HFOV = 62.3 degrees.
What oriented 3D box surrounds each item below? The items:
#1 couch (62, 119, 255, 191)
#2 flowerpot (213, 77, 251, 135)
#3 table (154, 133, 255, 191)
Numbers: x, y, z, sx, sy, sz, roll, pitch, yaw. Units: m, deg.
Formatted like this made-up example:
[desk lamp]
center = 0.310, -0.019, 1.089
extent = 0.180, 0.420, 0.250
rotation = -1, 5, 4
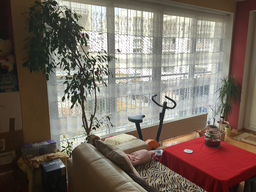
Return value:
[couch]
center = 0.150, 0.820, 1.740
extent = 0.920, 0.760, 1.520
rotation = -7, 14, -32
[flowerpot]
center = 2.070, 0.180, 4.290
extent = 0.370, 1.090, 0.500
rotation = -1, 12, -10
[table]
center = 0.900, 0.850, 2.430
extent = 0.850, 0.440, 0.830
rotation = -7, 14, -33
